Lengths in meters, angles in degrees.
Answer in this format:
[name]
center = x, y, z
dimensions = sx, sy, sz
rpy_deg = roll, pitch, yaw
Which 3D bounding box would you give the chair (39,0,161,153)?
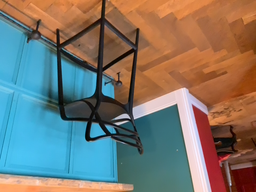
[chair]
center = -0.200, -0.130, 1.530
dimensions = 0.570, 0.890, 0.500
rpy_deg = -24, 147, 31
